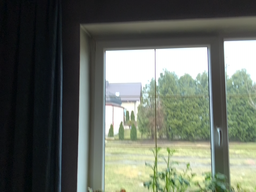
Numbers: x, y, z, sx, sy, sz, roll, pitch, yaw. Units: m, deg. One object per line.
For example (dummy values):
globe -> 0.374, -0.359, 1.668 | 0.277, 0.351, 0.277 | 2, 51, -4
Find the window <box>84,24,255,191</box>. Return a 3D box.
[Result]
window -> 1.150, 0.190, 1.640 | 3.000, 1.510, 0.120 | -1, -5, 6
